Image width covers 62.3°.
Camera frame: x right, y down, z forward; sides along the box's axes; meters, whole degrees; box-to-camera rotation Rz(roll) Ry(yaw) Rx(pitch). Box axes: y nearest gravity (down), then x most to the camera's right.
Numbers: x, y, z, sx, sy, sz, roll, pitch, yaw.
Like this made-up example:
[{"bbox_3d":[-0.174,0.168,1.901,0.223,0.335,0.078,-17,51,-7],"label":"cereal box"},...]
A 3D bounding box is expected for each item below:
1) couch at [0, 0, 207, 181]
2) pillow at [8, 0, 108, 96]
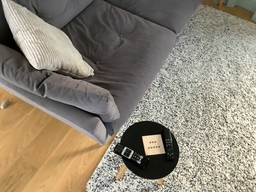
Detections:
[{"bbox_3d":[-0.040,-0.670,1.630,1.020,0.800,2.110,26,56,10],"label":"couch"},{"bbox_3d":[-0.370,-0.250,1.110,0.170,0.430,0.360,-48,35,-6],"label":"pillow"}]
